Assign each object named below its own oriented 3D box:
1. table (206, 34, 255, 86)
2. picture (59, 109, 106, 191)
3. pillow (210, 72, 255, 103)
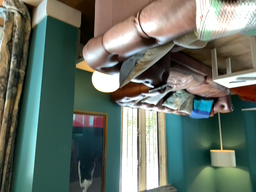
[{"bbox_3d":[1.490,-0.450,2.900,0.590,0.440,0.580,-10,165,43],"label":"table"},{"bbox_3d":[-0.540,0.800,2.640,0.040,1.230,0.630,-10,165,42],"label":"picture"},{"bbox_3d":[2.340,-0.140,4.540,0.840,0.410,0.750,-9,165,41],"label":"pillow"}]
